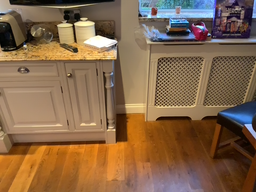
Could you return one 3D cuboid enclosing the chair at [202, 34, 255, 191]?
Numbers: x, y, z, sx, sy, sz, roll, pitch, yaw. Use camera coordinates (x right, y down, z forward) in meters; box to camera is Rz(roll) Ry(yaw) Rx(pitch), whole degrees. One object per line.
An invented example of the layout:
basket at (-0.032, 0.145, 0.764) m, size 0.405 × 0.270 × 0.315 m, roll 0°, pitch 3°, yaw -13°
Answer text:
chair at (1.050, 0.110, 1.640) m, size 0.590 × 1.070 × 0.450 m, roll -17°, pitch 35°, yaw -27°
